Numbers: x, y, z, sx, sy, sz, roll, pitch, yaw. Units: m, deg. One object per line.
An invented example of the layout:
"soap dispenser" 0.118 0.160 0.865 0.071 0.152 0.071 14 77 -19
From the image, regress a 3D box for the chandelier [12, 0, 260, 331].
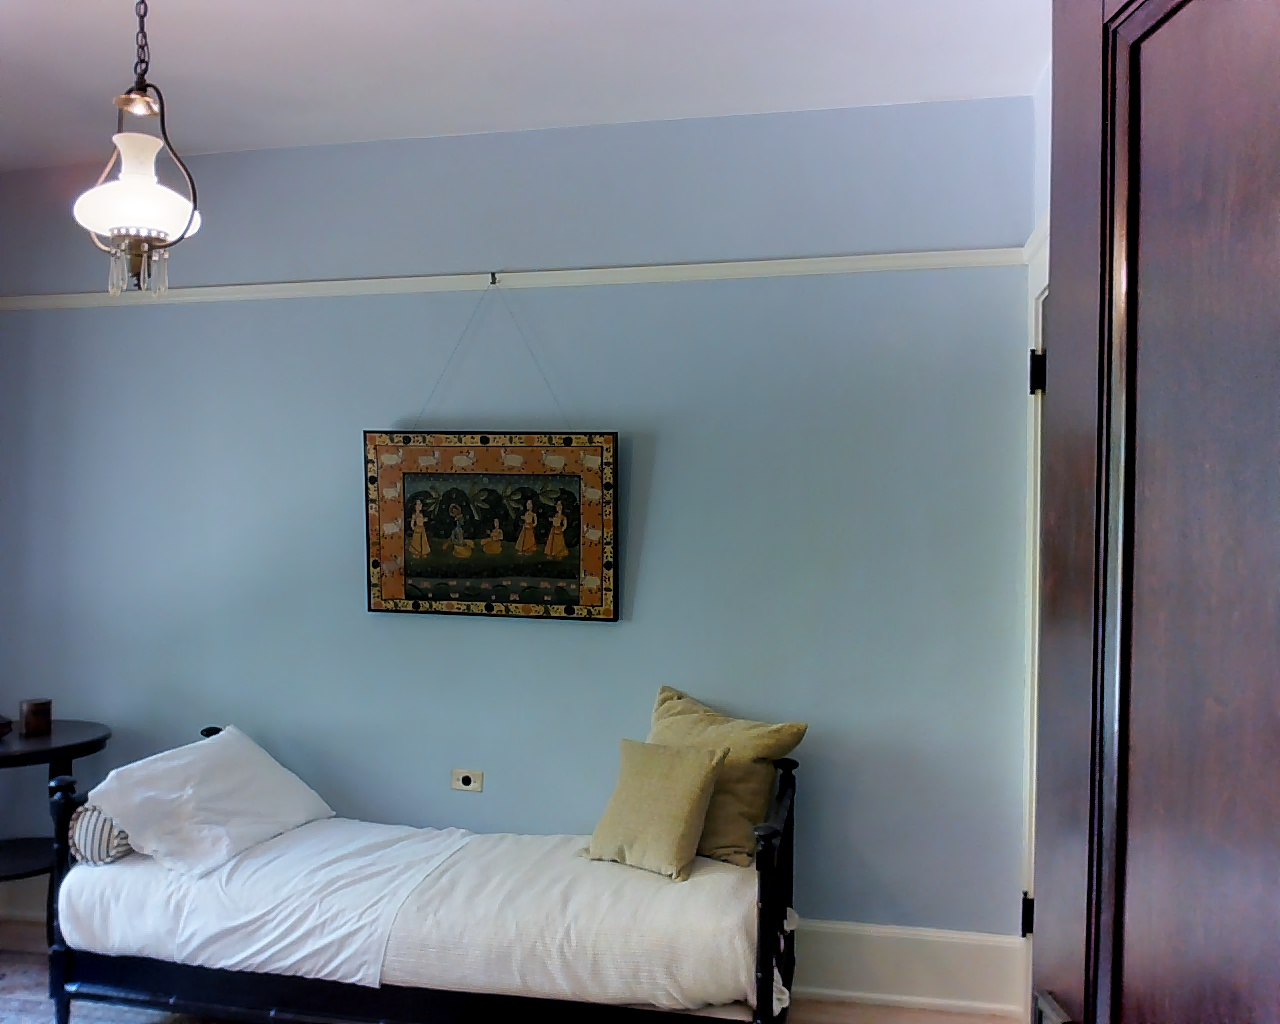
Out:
"chandelier" -0.970 -0.810 2.100 0.320 0.860 0.300 1 1 12
